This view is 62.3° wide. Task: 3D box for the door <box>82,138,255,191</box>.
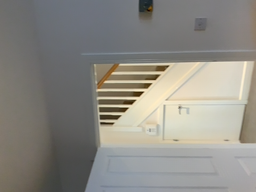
[{"bbox_3d":[0.690,0.630,1.620,0.960,2.000,0.120,-84,-7,-69],"label":"door"}]
